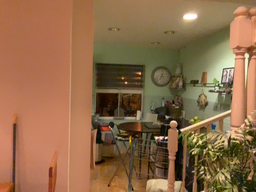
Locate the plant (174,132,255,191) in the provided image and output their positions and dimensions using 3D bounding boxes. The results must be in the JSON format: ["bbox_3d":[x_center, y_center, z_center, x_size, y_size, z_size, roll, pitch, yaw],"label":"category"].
[{"bbox_3d":[0.460,0.500,1.060,0.300,0.540,0.440,1,3,-9],"label":"plant"}]
